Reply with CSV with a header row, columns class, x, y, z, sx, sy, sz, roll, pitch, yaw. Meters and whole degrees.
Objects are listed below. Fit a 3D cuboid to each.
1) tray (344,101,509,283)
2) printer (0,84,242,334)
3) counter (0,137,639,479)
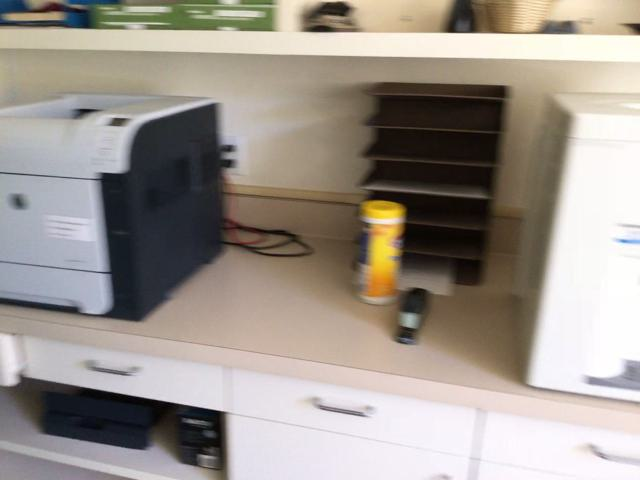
class,x,y,z,sx,sy,sz,roll,pitch,yaw
tray,0.260,-0.130,1.420,0.340,0.370,0.220,8,21,15
printer,-0.520,-0.120,1.350,0.510,0.410,0.490,8,21,15
counter,0.420,0.110,1.200,3.030,0.290,0.700,8,21,15
